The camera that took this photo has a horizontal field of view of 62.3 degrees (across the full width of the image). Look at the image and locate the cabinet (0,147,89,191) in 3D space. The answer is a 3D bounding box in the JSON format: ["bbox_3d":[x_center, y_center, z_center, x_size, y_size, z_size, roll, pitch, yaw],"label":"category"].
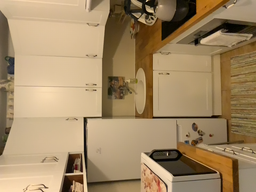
[{"bbox_3d":[-0.650,0.640,1.360,1.210,0.740,0.330,175,95,-76],"label":"cabinet"}]

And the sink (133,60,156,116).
[{"bbox_3d":[0.200,-0.090,2.680,0.380,0.180,0.650,172,98,-76],"label":"sink"}]
